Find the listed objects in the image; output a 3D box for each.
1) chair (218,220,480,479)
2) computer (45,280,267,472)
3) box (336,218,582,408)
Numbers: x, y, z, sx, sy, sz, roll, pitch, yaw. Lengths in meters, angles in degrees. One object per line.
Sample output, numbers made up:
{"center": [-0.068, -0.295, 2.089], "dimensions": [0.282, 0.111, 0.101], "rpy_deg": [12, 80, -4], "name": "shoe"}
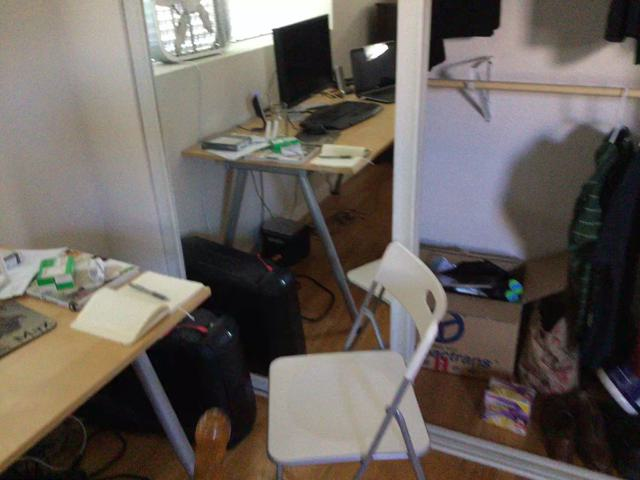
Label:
{"center": [0.060, 0.410, 1.580], "dimensions": [0.540, 0.750, 0.550], "rpy_deg": [-4, 23, -3], "name": "chair"}
{"center": [-0.550, 0.440, 1.990], "dimensions": [0.640, 0.430, 0.290], "rpy_deg": [8, 25, 24], "name": "computer"}
{"center": [0.510, 0.250, 2.220], "dimensions": [0.840, 0.510, 0.280], "rpy_deg": [8, 25, 24], "name": "box"}
